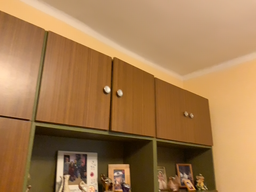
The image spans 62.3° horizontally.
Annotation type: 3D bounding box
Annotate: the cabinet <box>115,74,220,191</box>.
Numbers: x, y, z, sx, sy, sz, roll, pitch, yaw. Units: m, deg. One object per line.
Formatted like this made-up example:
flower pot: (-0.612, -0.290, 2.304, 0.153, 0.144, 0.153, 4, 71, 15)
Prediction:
cabinet: (0.390, 0.720, 1.930, 0.950, 1.560, 0.450, 18, -25, -41)
